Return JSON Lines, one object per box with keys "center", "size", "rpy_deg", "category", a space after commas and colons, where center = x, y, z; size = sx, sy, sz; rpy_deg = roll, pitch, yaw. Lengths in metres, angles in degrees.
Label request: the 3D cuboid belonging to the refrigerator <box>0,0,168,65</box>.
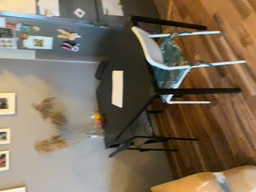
{"center": [-0.530, -0.820, 2.440], "size": [0.670, 1.770, 0.560], "rpy_deg": [125, 137, -52], "category": "refrigerator"}
